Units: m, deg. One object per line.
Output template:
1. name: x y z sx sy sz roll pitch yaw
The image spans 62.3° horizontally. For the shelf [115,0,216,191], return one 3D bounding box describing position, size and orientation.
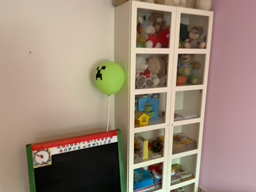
1. shelf: 0.310 0.260 1.960 0.810 2.000 0.260 -5 13 -25
